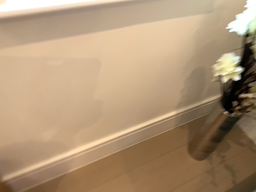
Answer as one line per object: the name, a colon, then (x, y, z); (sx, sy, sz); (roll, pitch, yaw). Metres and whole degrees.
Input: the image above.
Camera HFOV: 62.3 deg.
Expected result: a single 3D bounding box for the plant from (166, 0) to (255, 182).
plant: (0.610, -0.080, 0.950); (0.480, 1.120, 0.390); (-14, 53, -19)
